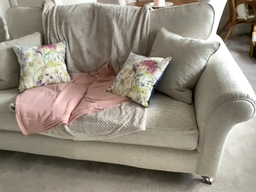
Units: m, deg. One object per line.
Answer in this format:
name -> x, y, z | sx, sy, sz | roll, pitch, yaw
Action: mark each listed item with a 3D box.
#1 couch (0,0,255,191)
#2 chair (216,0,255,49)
couch -> -0.250, -0.130, 1.660 | 2.070, 0.960, 1.040 | 3, 33, 10
chair -> 1.780, -1.210, 3.290 | 0.560, 0.780, 0.600 | 2, 33, 8
